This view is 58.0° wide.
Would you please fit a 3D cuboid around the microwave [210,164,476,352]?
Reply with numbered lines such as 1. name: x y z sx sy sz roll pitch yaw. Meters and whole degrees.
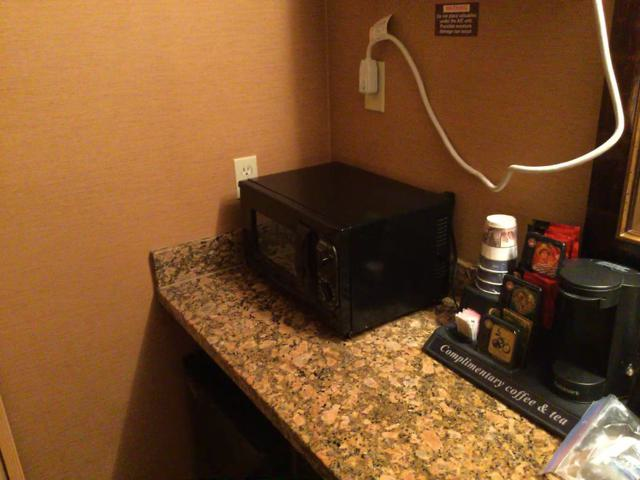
1. microwave: 0.030 0.000 1.430 0.380 0.270 0.540 -10 21 -38
